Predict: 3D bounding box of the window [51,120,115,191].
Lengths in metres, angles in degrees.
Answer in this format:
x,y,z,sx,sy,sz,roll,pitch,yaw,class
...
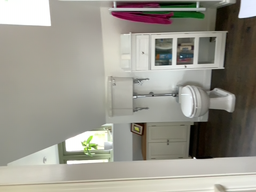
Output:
x,y,z,sx,sy,sz,roll,pitch,yaw,class
-0.720,1.290,3.650,0.200,0.990,1.790,-106,16,-73,window
